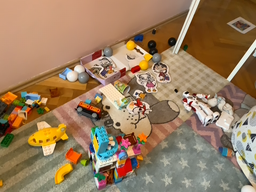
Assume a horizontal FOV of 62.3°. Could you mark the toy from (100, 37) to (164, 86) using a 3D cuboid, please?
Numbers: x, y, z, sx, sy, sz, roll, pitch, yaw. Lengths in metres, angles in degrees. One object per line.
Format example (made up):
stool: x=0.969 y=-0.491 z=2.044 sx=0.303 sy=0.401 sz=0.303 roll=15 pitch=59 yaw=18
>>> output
toy: x=0.030 y=-0.280 z=1.610 sx=0.350 sy=0.070 sz=0.330 roll=-34 pitch=65 yaw=-33

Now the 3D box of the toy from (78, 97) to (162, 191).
toy: x=-0.050 y=0.220 z=0.960 sx=0.250 sy=0.270 sz=0.230 roll=37 pitch=53 yaw=17
